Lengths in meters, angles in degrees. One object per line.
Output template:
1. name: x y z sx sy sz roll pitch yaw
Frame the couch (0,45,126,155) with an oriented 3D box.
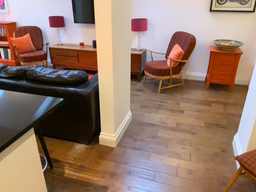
1. couch: -1.290 -0.110 2.770 2.330 0.790 0.990 8 26 16
